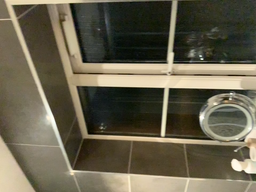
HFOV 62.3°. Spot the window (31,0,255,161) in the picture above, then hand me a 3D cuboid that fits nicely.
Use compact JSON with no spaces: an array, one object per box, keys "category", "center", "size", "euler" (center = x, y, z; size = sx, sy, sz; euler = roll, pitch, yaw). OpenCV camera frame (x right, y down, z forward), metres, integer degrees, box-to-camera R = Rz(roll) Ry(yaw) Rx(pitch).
[{"category":"window","center":[0.170,-0.050,1.020],"size":[0.100,1.030,0.940],"euler":[-81,-10,-53]}]

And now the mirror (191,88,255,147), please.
[{"category":"mirror","center":[0.490,0.100,0.960],"size":[0.120,0.350,0.240],"euler":[-81,-10,-53]}]
